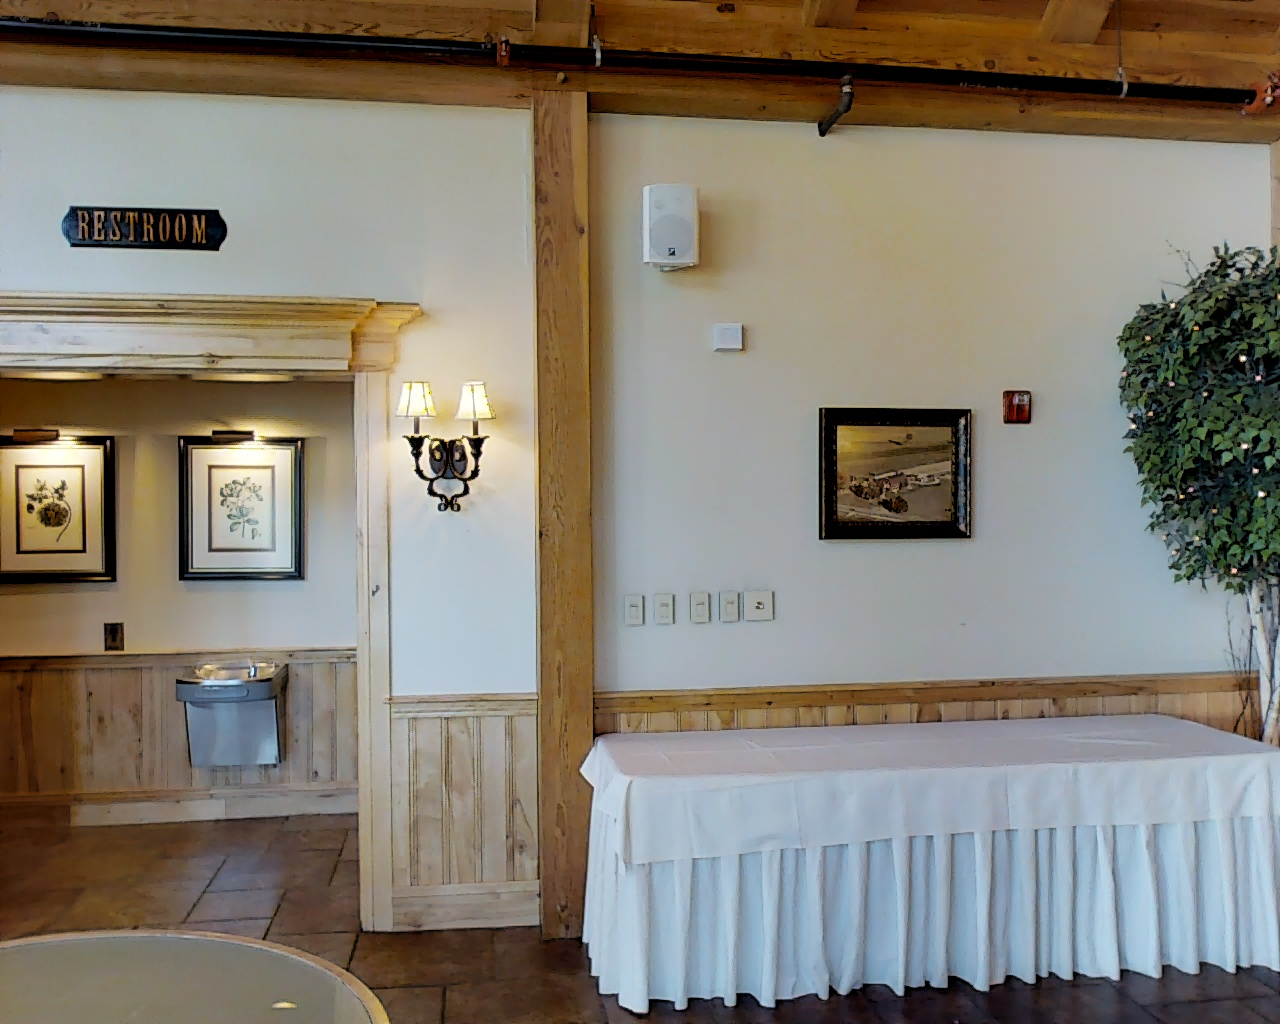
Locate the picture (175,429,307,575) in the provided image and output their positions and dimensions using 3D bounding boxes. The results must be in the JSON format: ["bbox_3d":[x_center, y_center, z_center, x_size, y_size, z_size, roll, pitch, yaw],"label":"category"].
[{"bbox_3d":[-2.100,-0.050,5.650,0.650,0.760,0.060,0,0,-9],"label":"picture"}]
